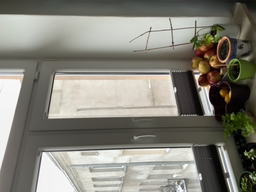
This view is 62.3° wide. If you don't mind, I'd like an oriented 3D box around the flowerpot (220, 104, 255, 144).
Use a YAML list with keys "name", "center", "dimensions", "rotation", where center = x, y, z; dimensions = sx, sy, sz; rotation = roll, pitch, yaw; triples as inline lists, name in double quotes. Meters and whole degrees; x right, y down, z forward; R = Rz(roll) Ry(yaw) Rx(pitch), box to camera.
- name: "flowerpot"
  center: [0.640, 0.160, 1.170]
  dimensions: [0.190, 0.140, 0.170]
  rotation: [102, 167, -65]

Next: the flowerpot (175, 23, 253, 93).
- name: "flowerpot"
  center: [0.510, -0.230, 1.350]
  dimensions: [0.310, 0.300, 0.300]
  rotation: [100, 169, -60]

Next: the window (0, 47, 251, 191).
- name: "window"
  center: [-0.260, 0.230, 1.240]
  dimensions: [0.150, 1.760, 1.180]
  rotation: [100, 168, -61]
